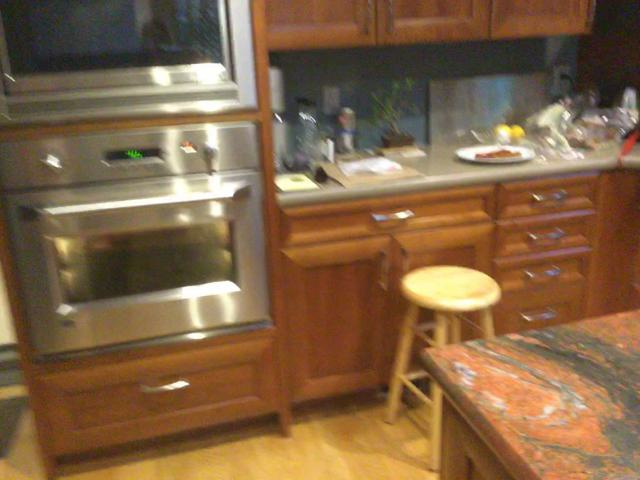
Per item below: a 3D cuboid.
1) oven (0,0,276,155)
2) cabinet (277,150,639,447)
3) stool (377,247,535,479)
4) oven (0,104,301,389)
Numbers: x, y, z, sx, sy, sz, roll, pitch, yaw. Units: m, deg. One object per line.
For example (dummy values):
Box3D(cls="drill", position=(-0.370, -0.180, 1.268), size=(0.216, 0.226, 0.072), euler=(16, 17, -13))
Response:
Box3D(cls="oven", position=(-0.570, -0.600, 1.590), size=(0.810, 0.620, 0.220), euler=(-9, 20, -12))
Box3D(cls="cabinet", position=(0.520, 0.200, 2.080), size=(1.260, 0.880, 0.140), euler=(-9, 20, -12))
Box3D(cls="stool", position=(0.440, 0.400, 1.980), size=(0.330, 0.590, 0.470), euler=(-9, 20, -11))
Box3D(cls="oven", position=(-0.530, 0.000, 1.740), size=(0.860, 0.700, 0.230), euler=(-9, 20, -12))
